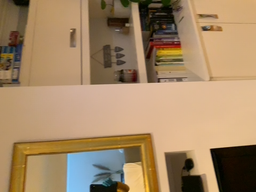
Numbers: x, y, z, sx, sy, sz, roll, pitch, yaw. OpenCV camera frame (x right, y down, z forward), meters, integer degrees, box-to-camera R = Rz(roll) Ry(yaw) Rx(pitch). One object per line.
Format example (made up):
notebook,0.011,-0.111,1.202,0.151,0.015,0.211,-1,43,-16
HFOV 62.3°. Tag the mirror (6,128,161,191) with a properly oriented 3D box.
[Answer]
mirror,-0.170,0.680,0.890,0.090,0.680,1.060,107,159,-65
